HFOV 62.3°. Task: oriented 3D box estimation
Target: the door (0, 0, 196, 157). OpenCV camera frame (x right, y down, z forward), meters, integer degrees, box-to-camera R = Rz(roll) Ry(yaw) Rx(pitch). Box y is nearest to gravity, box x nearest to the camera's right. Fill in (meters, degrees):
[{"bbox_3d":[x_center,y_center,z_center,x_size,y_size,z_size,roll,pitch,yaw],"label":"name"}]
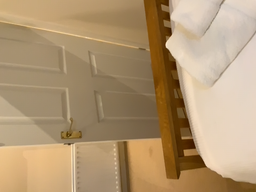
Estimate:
[{"bbox_3d":[-0.450,-0.170,1.450,0.110,2.070,1.080,-40,53,51],"label":"door"}]
